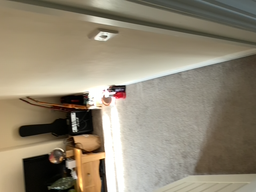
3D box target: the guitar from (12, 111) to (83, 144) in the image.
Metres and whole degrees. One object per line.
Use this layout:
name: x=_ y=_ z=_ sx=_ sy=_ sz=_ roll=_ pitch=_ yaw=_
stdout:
guitar: x=-1.350 y=0.510 z=3.620 sx=0.360 sy=1.040 sz=0.400 roll=-10 pitch=85 yaw=54
